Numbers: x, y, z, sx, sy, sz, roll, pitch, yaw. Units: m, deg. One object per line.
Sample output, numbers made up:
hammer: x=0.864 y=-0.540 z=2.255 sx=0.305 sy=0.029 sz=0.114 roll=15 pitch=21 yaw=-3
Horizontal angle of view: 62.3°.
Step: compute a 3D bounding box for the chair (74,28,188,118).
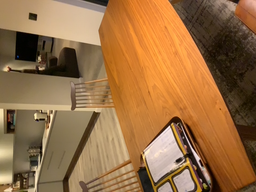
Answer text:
chair: x=-0.010 y=-0.190 z=2.180 sx=0.590 sy=0.900 sz=0.570 roll=-61 pitch=36 yaw=40
